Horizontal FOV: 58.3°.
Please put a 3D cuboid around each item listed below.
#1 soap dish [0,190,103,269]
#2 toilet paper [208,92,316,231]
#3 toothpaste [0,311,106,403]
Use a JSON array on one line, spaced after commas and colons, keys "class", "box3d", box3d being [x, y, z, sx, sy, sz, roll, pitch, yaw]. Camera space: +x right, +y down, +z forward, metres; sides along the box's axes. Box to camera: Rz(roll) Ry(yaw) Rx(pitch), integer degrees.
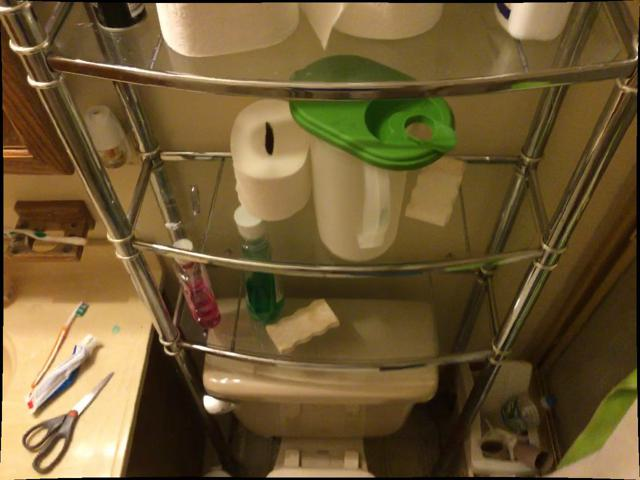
[{"class": "soap dish", "box3d": [-0.530, -0.020, 1.080, 0.190, 0.080, 0.120, -1, 54, 3]}, {"class": "toilet paper", "box3d": [-0.080, -0.120, 0.880, 0.140, 0.120, 0.170, -1, 54, 3]}, {"class": "toothpaste", "box3d": [-0.510, 0.220, 1.090, 0.170, 0.040, 0.090, -29, 57, -17]}]
